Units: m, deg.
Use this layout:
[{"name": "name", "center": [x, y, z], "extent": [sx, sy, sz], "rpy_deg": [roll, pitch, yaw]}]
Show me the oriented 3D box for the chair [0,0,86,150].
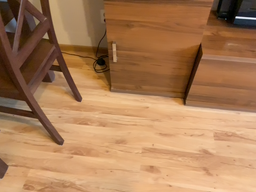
[{"name": "chair", "center": [-0.520, -0.200, 0.980], "extent": [0.400, 0.930, 0.440], "rpy_deg": [8, 50, 6]}]
